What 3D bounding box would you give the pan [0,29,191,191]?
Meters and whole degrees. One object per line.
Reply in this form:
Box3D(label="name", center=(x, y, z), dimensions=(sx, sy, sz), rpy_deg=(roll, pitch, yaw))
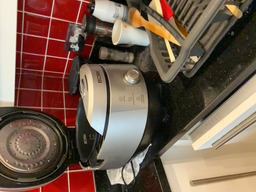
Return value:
Box3D(label="pan", center=(-0.170, 0.090, 0.660), dimensions=(0.410, 0.490, 0.290), rpy_deg=(-57, 38, 44))
